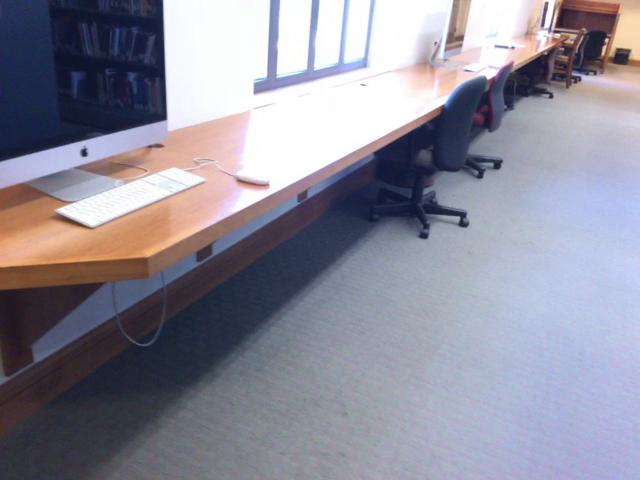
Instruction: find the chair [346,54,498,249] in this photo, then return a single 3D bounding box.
[{"bbox_3d":[0.590,-0.550,3.370,0.610,0.910,0.660,14,27,23],"label":"chair"}]
